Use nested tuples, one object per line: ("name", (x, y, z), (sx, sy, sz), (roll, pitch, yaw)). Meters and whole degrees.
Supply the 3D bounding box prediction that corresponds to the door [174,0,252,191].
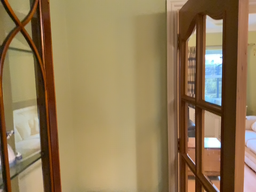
("door", (0.380, 0.420, 1.130), (0.060, 1.980, 0.710), (-2, 6, -3))
